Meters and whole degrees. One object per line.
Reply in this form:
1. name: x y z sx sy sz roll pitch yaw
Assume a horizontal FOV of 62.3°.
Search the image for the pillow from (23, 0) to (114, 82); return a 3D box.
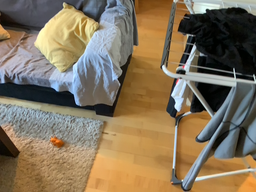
1. pillow: -0.440 -0.440 1.550 0.440 0.470 0.220 55 7 24
